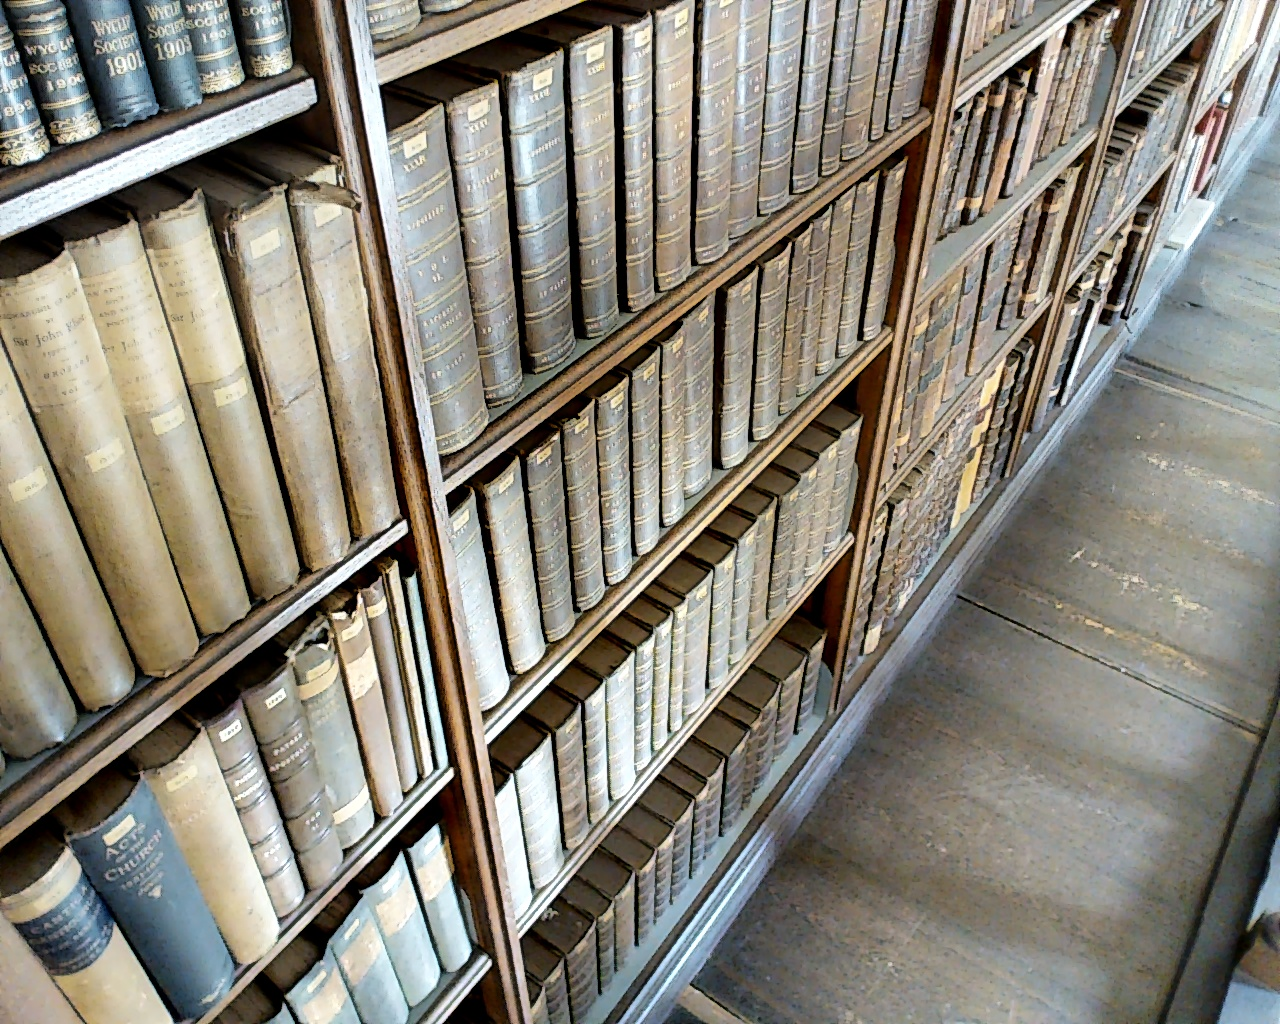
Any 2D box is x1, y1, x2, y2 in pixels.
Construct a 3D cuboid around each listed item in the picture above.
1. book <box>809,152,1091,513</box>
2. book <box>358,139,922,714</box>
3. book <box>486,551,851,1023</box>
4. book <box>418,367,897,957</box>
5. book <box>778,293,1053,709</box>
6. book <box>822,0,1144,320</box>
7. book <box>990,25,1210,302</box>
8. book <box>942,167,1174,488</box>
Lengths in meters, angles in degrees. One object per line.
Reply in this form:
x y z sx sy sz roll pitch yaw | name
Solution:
0.520 -0.320 1.760 0.130 0.270 0.720 25 48 25 | book
0.050 -0.130 1.070 0.120 0.220 0.720 26 48 26 | book
0.070 0.410 1.540 0.100 0.380 0.700 26 48 26 | book
0.060 0.140 1.290 0.150 0.300 0.710 26 48 26 | book
0.520 -0.040 2.010 0.140 0.450 0.720 26 48 26 | book
0.510 -0.550 1.540 0.140 0.220 0.730 26 48 26 | book
0.970 -0.750 2.240 0.150 0.270 0.790 24 47 25 | book
0.980 -0.450 2.500 0.160 0.400 0.800 26 48 26 | book
